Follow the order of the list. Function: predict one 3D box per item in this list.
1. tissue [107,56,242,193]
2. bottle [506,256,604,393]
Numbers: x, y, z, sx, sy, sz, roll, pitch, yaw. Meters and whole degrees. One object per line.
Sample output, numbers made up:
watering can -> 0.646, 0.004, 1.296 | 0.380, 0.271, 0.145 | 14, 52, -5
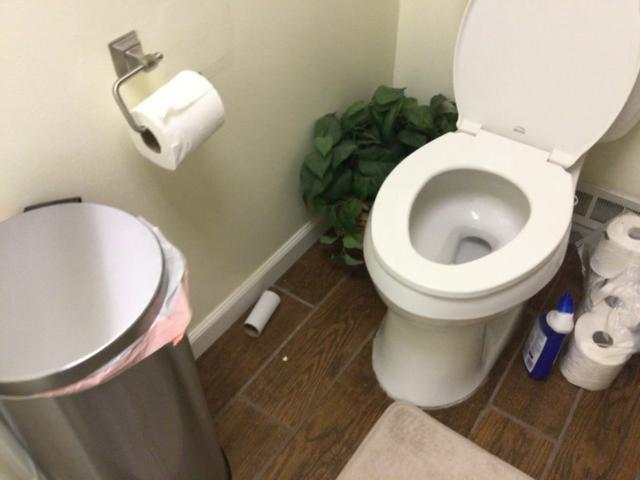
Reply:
tissue -> -0.230, -0.190, 0.940 | 0.130, 0.140, 0.140 | 26, 50, 26
bottle -> 0.520, 0.190, 1.290 | 0.100, 0.250, 0.160 | 26, 49, 27
